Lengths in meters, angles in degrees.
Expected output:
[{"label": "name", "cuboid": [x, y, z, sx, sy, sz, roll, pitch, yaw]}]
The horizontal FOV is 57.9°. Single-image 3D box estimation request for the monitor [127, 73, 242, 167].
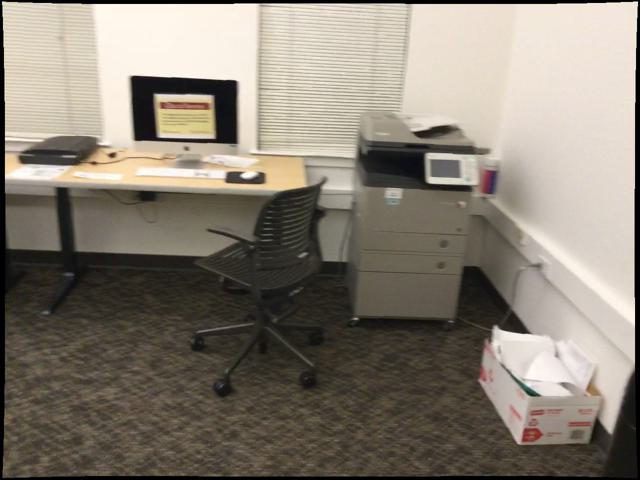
[{"label": "monitor", "cuboid": [-0.669, -0.611, 2.930, 0.519, 0.400, 0.270, 2, 22, -5]}]
